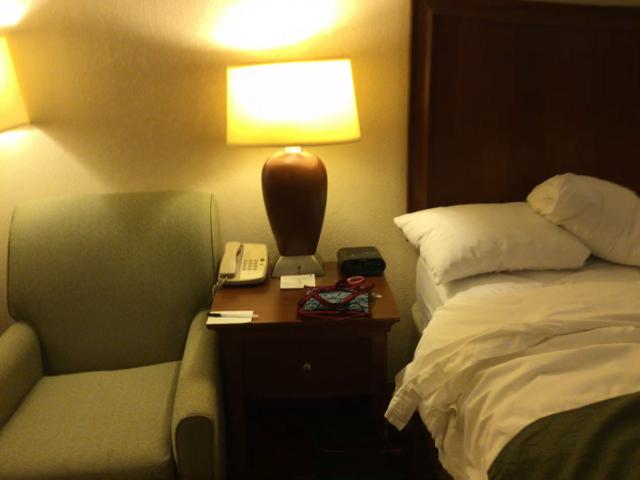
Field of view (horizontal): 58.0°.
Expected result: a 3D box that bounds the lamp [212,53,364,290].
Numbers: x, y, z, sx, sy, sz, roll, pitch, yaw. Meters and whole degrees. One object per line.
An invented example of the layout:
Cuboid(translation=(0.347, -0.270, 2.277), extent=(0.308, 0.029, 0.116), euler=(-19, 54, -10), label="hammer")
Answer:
Cuboid(translation=(-0.090, -0.220, 1.820), extent=(0.420, 0.700, 0.240), euler=(-2, 18, -3), label="lamp")

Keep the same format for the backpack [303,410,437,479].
Cuboid(translation=(0.130, 0.750, 1.680), extent=(0.340, 0.330, 0.360), euler=(-2, 18, -3), label="backpack")
